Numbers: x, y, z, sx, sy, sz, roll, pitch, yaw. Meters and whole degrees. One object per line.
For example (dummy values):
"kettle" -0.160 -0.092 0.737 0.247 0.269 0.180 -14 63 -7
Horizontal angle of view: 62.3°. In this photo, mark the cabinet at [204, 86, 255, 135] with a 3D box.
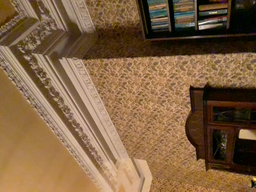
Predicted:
"cabinet" 1.100 0.140 1.960 0.430 0.730 0.210 70 -148 -42
